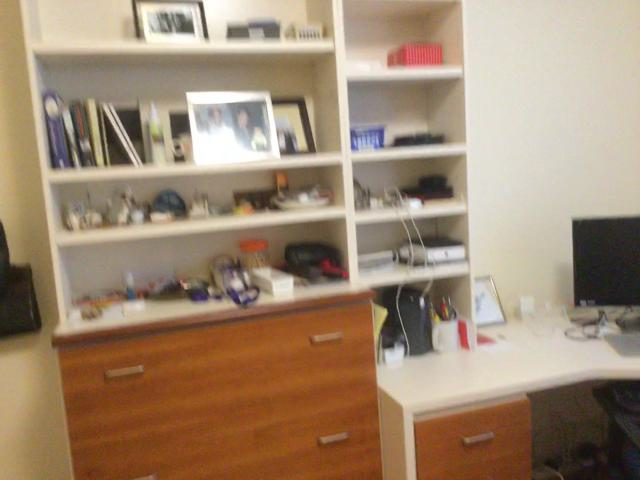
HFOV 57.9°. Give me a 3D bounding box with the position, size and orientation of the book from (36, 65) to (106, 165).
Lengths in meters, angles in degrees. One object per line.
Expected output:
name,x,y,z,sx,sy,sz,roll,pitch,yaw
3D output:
book,-0.700,-0.340,1.650,0.140,0.240,0.350,-3,7,-18

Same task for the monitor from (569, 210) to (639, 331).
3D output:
monitor,1.230,0.110,2.150,0.520,0.430,0.170,0,6,12

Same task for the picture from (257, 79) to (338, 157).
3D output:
picture,-0.080,-0.390,1.900,0.190,0.220,0.290,-3,7,-18
